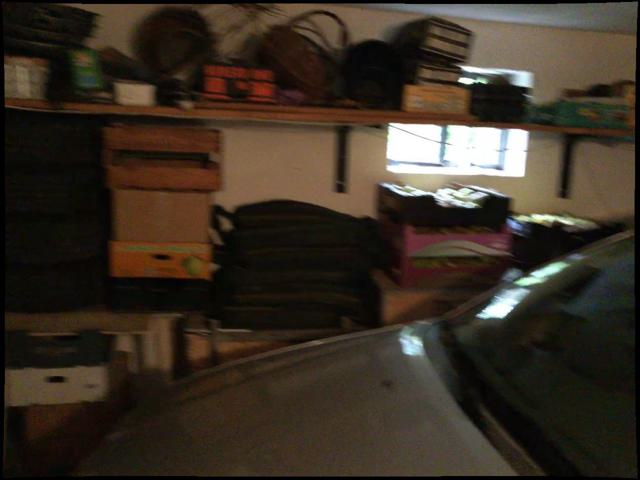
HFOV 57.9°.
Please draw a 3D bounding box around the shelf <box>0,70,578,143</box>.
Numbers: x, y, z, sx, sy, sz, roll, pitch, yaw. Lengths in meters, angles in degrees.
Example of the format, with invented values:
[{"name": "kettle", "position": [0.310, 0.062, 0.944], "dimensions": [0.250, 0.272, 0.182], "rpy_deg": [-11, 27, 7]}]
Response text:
[{"name": "shelf", "position": [-0.210, -0.571, 2.480], "dimensions": [2.637, 0.170, 0.370], "rpy_deg": [1, 14, -10]}]
